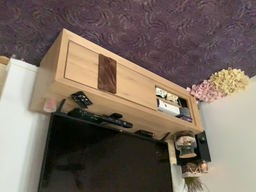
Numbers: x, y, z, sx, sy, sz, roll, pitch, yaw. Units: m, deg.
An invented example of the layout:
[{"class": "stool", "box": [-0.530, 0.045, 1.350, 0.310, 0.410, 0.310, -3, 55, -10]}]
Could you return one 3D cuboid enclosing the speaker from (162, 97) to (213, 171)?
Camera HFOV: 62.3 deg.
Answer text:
[{"class": "speaker", "box": [0.590, 0.400, 2.210, 0.170, 0.660, 0.400, 19, 145, -33]}]
